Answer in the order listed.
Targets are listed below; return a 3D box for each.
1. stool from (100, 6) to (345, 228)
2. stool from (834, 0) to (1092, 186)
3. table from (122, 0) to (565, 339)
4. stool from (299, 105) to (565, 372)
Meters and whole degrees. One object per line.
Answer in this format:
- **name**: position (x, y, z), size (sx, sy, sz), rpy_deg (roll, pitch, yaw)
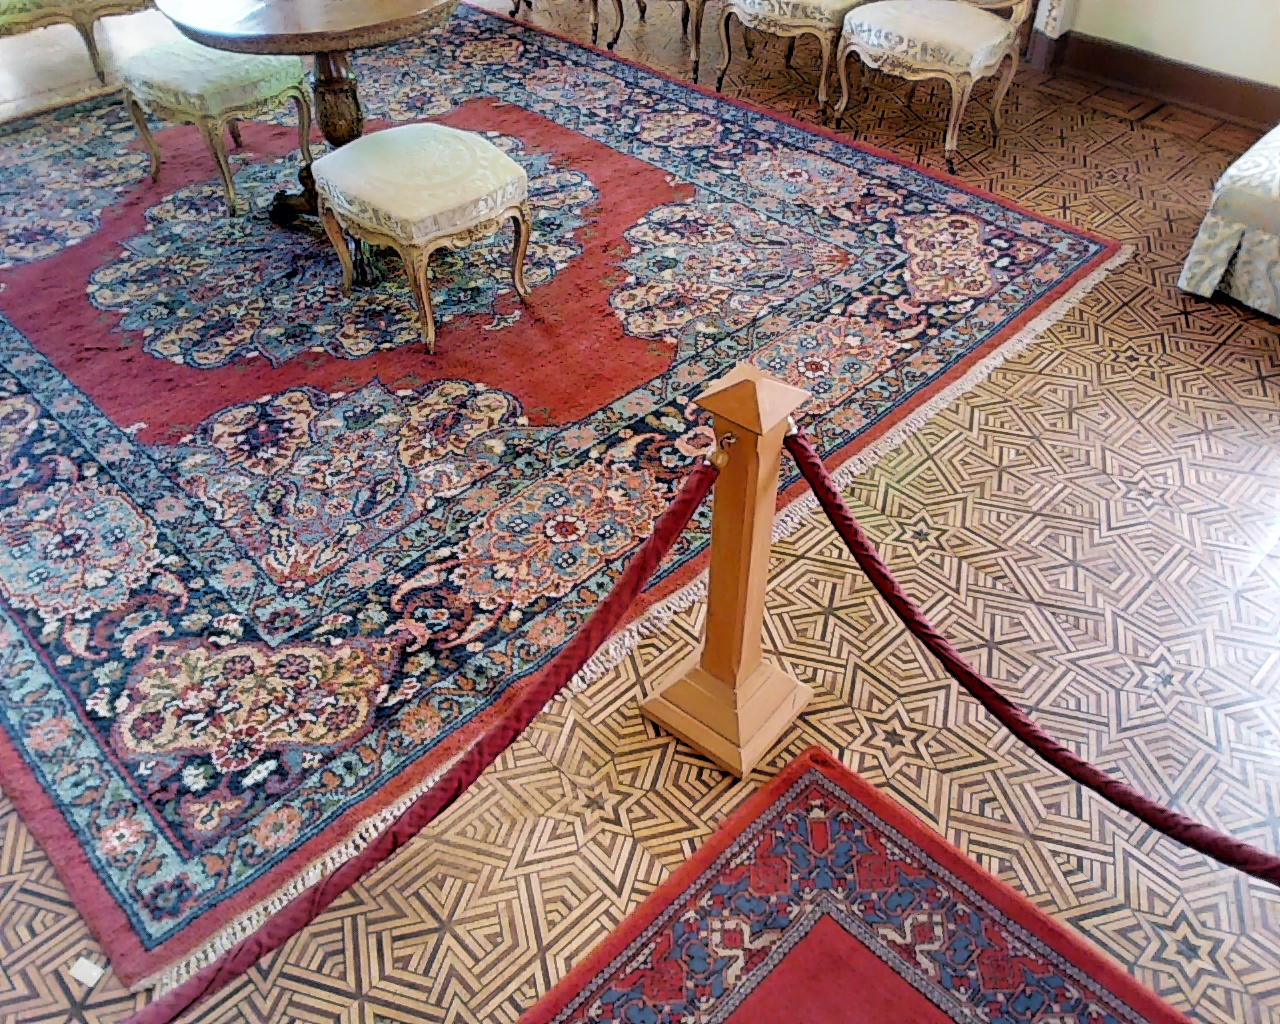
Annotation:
- **stool**: position (-1.430, -1.380, 3.730), size (0.540, 0.500, 0.460), rpy_deg (27, 49, 26)
- **stool**: position (1.180, -1.840, 3.810), size (0.630, 1.040, 0.580), rpy_deg (-31, 51, -30)
- **table**: position (-0.880, -1.230, 3.340), size (0.900, 0.810, 0.880), rpy_deg (-32, 51, -30)
- **stool**: position (-0.590, -0.810, 3.130), size (0.560, 0.470, 0.460), rpy_deg (34, 52, 31)
